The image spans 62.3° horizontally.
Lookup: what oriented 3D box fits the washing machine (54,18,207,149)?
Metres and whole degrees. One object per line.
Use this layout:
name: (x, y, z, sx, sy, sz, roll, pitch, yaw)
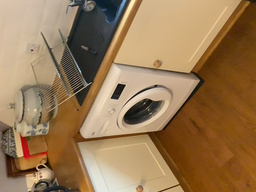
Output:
washing machine: (-0.010, -0.080, 1.730, 0.640, 0.870, 0.650, -59, 46, 32)
